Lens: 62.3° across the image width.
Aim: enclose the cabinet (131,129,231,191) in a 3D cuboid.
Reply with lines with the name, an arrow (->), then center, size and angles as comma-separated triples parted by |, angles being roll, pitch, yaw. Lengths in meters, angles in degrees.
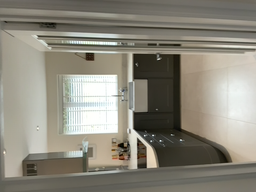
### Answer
cabinet -> 0.610, 0.800, 3.010 | 1.360, 0.890, 0.430 | 173, 96, -80
